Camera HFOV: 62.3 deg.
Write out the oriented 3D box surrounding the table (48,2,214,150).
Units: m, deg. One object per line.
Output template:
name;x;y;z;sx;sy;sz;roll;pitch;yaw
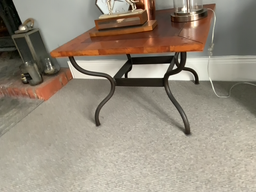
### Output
table;0.100;-0.160;1.180;0.640;0.480;0.650;4;34;25
